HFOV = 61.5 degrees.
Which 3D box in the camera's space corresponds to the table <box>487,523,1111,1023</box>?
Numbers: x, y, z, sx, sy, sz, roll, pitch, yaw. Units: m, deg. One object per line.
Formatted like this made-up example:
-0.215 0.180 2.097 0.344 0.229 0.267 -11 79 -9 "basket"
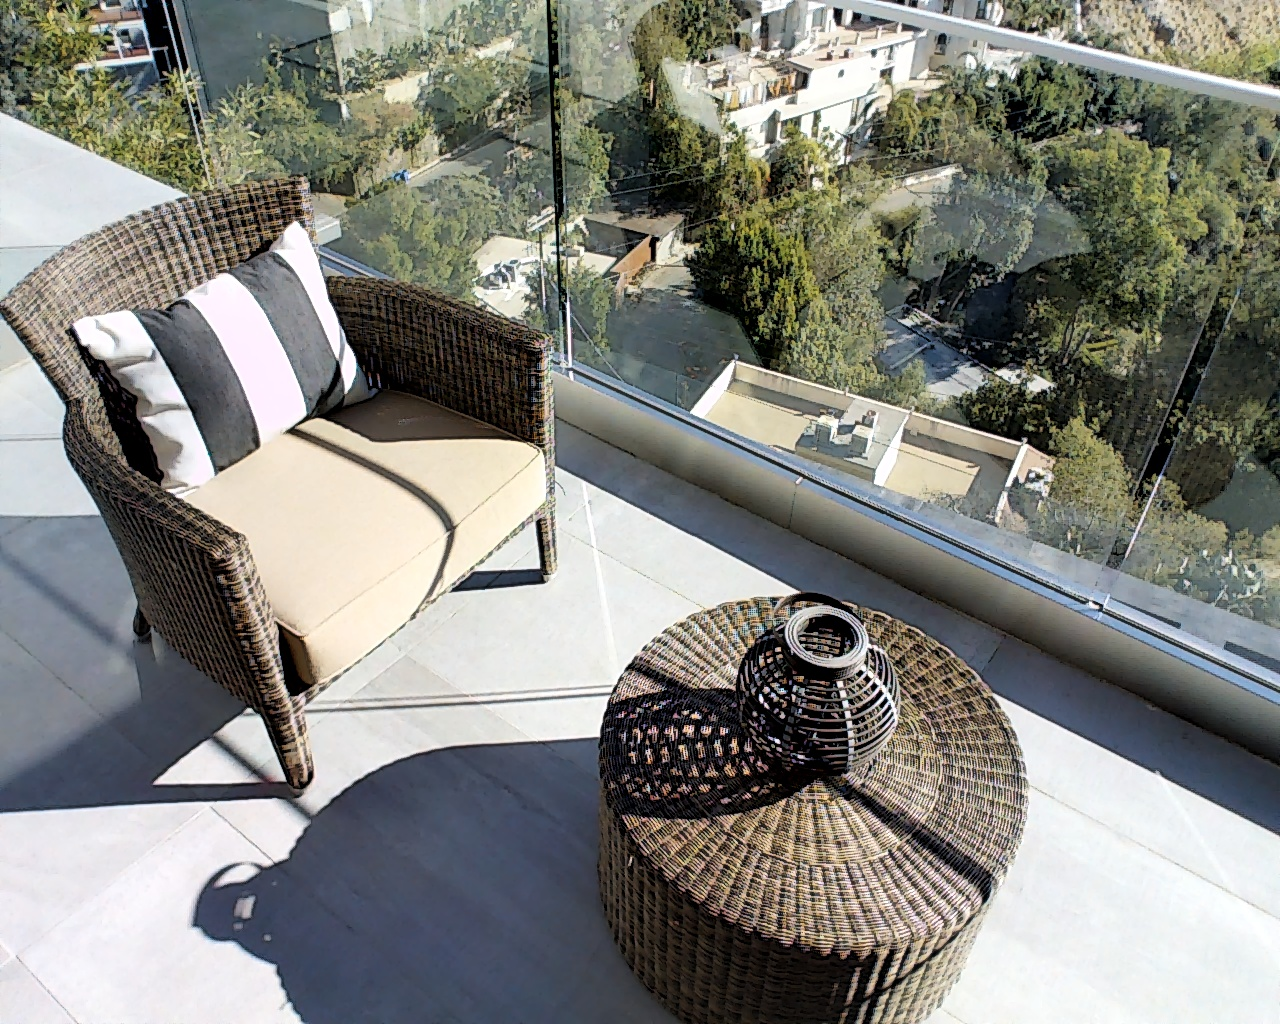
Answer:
0.240 0.450 1.640 0.650 0.380 0.620 25 47 28 "table"
